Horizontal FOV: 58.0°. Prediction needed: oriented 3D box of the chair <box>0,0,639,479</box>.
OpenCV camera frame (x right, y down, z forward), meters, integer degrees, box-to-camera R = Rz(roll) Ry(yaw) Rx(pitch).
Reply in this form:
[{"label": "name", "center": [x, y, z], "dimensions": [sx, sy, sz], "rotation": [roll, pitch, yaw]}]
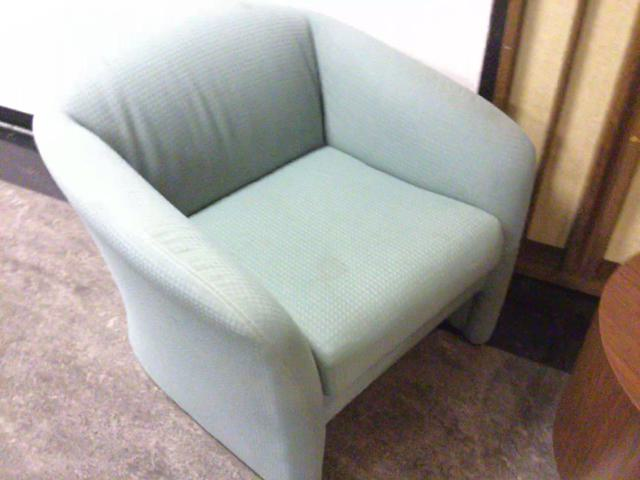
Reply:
[{"label": "chair", "center": [-0.060, -0.010, 1.400], "dimensions": [0.940, 0.770, 1.050], "rotation": [35, 51, 30]}]
